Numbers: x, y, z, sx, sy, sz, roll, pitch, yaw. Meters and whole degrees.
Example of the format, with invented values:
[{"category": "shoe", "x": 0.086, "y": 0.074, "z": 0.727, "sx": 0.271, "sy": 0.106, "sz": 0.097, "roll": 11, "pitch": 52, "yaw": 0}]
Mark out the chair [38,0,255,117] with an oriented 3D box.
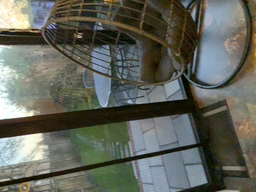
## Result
[{"category": "chair", "x": 0.090, "y": -0.470, "z": 1.720, "sx": 0.840, "sy": 1.460, "sz": 0.960, "roll": 137, "pitch": 125, "yaw": -65}]
